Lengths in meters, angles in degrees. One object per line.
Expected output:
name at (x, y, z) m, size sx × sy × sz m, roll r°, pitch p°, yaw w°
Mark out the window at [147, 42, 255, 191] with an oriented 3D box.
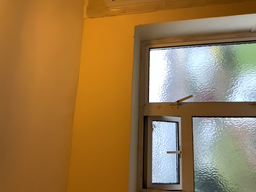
window at (0.520, 0.120, 1.250) m, size 0.050 × 0.790 × 0.890 m, roll 44°, pitch -133°, yaw -71°
